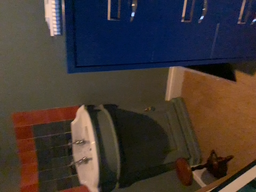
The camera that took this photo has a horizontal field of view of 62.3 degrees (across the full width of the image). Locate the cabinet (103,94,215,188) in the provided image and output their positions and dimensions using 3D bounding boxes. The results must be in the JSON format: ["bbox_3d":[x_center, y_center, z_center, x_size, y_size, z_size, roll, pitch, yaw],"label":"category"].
[{"bbox_3d":[0.200,0.300,1.640,0.450,0.680,0.420,-133,43,-56],"label":"cabinet"}]

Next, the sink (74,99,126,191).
[{"bbox_3d":[-0.220,0.330,1.480,0.470,0.220,0.450,-133,43,-56],"label":"sink"}]
